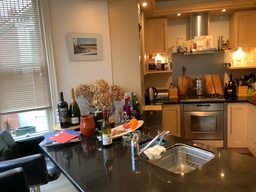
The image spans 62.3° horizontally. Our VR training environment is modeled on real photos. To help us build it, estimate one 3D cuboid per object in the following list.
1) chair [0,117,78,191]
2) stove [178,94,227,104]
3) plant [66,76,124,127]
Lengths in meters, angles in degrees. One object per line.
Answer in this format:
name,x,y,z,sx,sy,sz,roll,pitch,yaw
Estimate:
chair,-0.860,0.770,1.910,0.660,0.940,0.680,-7,10,-26
stove,1.230,0.040,3.620,0.710,0.060,0.560,-1,9,11
plant,-0.340,0.040,2.350,0.450,0.470,0.450,-1,9,15
